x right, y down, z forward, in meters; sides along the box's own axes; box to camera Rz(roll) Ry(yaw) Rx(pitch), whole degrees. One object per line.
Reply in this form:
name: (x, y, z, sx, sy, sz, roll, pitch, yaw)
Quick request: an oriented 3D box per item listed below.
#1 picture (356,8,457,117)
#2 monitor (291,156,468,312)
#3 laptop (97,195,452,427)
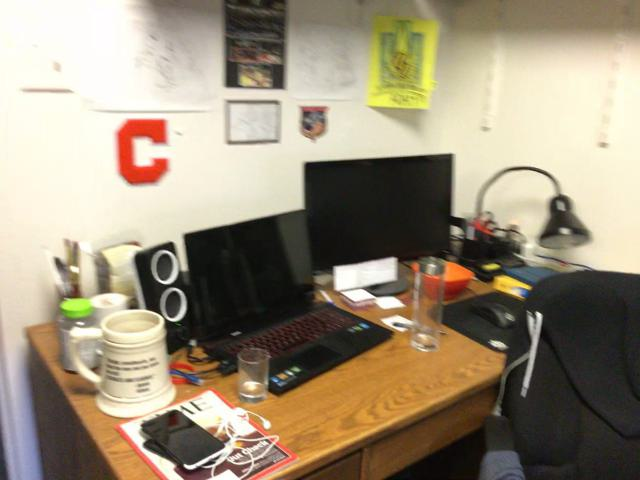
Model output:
picture: (0.290, -0.580, 1.930, 0.330, 0.320, 0.110, -9, 19, -37)
monitor: (0.180, -0.040, 1.680, 0.510, 0.370, 0.170, -9, 19, -37)
laptop: (-0.110, 0.100, 1.400, 0.670, 0.290, 0.500, -9, 19, -37)
